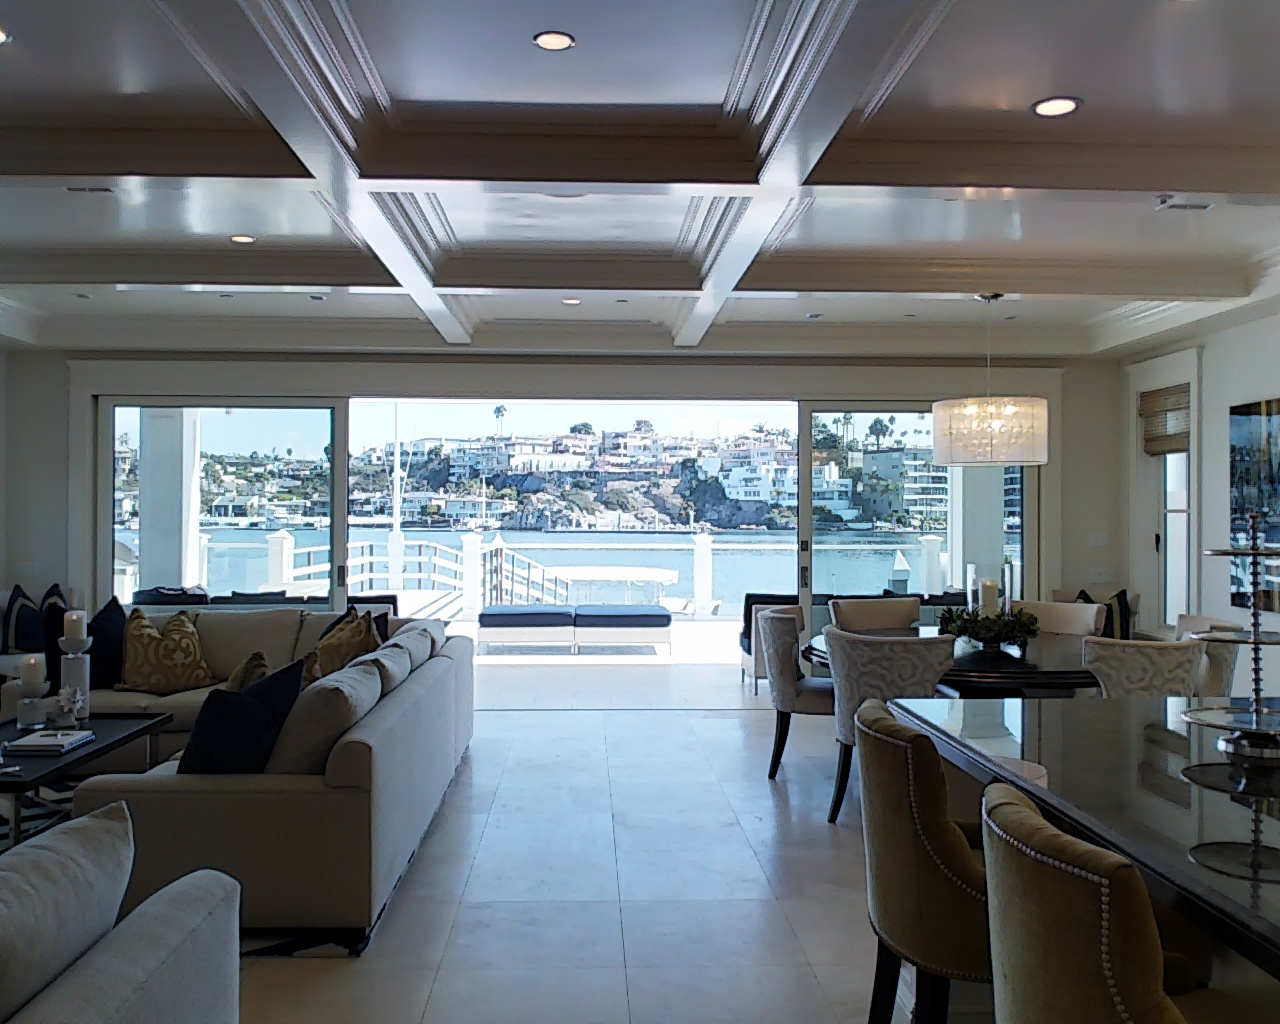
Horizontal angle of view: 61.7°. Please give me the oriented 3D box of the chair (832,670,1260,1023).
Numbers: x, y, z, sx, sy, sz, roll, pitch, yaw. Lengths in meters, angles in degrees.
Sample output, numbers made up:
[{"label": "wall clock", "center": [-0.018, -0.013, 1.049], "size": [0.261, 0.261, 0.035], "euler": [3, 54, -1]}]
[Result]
[{"label": "chair", "center": [0.870, 0.950, 2.470], "size": [0.720, 1.070, 0.680], "euler": [0, 0, -1]}]
